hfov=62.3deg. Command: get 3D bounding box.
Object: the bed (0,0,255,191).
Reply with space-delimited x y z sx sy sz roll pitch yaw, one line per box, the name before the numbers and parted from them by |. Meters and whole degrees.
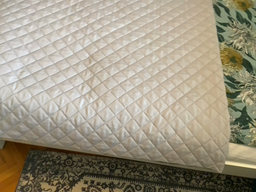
bed | 0.450 -0.280 1.290 2.230 0.520 1.540 10 62 -2
